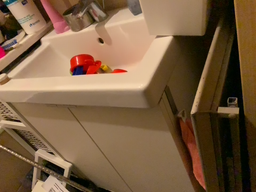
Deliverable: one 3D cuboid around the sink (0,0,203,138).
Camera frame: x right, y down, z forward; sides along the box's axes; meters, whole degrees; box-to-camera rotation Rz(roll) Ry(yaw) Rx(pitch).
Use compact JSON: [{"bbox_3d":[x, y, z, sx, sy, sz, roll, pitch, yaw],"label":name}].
[{"bbox_3d":[-0.110,-0.120,0.700,0.590,0.170,0.420,1,45,33],"label":"sink"}]
